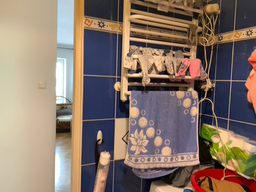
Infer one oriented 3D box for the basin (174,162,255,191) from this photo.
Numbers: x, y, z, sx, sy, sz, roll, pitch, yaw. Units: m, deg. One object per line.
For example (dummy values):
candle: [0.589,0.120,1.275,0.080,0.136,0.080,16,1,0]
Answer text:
basin: [0.510,0.510,1.110,0.340,0.140,0.410,0,5,-29]
